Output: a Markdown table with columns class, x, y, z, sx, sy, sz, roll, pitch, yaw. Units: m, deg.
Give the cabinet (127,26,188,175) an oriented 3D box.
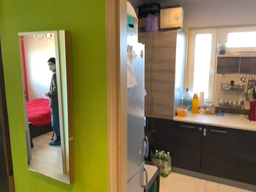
| class | x | y | z | sx | sy | sz | roll | pitch | yaw |
| --- | --- | --- | --- | --- | --- | --- | --- | --- | --- |
| cabinet | 0.460 | 0.040 | 3.390 | 0.710 | 2.110 | 0.670 | 6 | 12 | 26 |
